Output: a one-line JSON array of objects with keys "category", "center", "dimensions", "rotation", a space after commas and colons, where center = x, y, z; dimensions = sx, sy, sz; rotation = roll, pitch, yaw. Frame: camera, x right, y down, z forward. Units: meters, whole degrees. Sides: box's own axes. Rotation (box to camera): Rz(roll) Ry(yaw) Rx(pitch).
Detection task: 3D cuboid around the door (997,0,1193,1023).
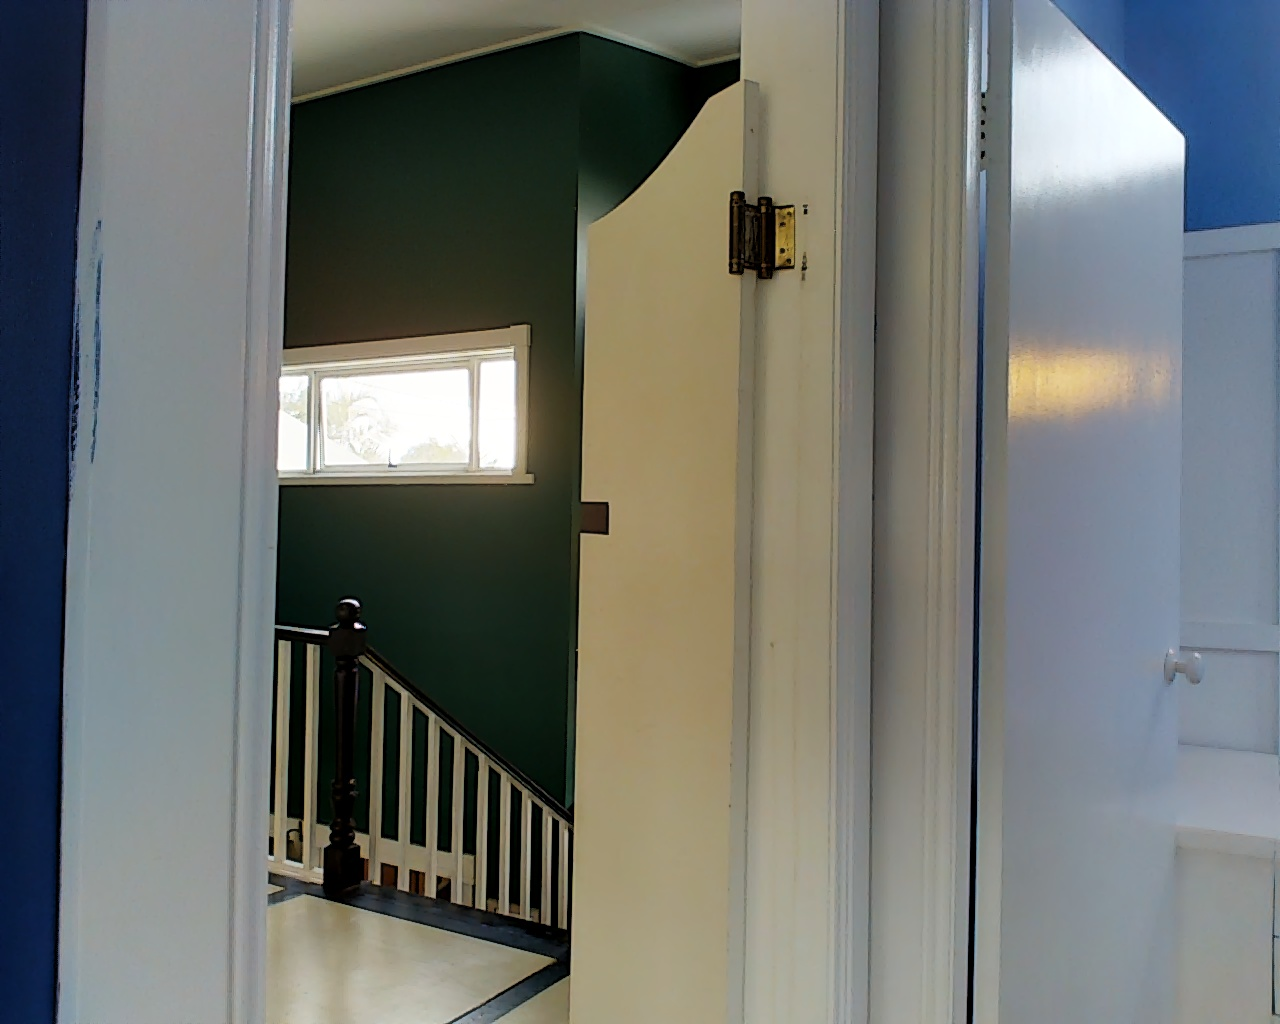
[{"category": "door", "center": [0.770, 0.280, 1.760], "dimensions": [0.030, 2.051, 0.830], "rotation": [0, -1, 41]}]
